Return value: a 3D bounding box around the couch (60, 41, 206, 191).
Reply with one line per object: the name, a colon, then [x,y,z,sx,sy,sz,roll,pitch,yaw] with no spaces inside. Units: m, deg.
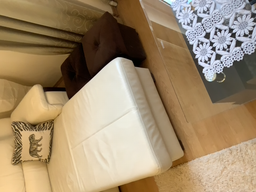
couch: [-0.030,0.200,1.510,0.740,0.420,0.810,-33,68,37]
